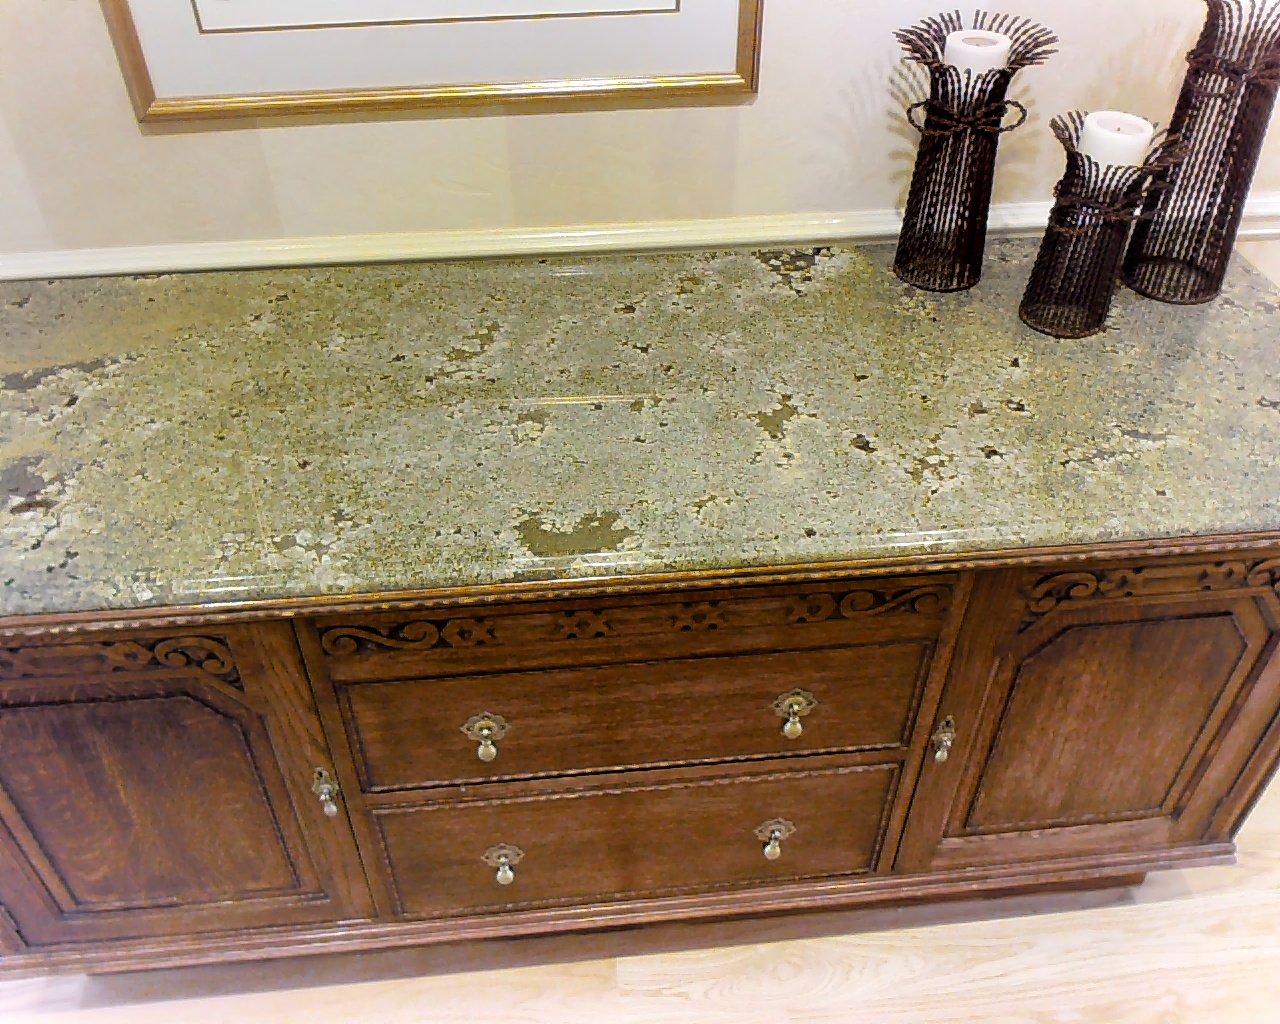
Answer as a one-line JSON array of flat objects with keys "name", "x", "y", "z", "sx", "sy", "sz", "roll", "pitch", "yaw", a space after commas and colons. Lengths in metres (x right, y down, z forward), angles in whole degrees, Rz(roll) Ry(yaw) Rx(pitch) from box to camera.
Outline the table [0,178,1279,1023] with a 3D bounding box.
[{"name": "table", "x": -0.020, "y": 0.160, "z": 1.560, "sx": 1.890, "sy": 0.920, "sz": 0.730, "roll": -4, "pitch": 43, "yaw": -5}]
